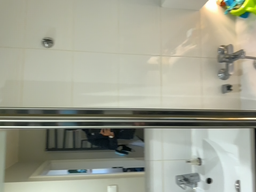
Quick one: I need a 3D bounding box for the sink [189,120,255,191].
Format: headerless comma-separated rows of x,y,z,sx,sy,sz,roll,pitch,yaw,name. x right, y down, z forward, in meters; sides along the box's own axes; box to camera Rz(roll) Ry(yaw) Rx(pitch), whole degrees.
0.460,0.440,1.000,0.440,0.130,0.650,151,120,-78,sink
